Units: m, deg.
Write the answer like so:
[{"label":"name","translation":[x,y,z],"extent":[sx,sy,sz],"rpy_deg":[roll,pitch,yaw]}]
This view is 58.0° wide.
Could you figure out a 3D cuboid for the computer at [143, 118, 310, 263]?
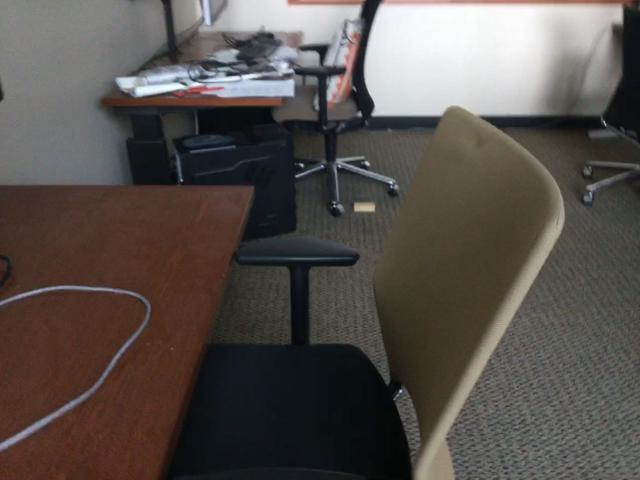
[{"label":"computer","translation":[-0.380,-0.230,2.600],"extent":[0.600,0.480,0.430],"rpy_deg":[-5,25,4]}]
